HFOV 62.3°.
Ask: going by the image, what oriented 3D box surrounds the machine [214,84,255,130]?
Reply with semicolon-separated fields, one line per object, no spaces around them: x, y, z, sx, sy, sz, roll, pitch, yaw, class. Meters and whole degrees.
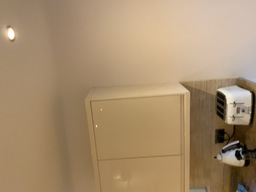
0.880;0.080;1.750;0.290;0.210;0.290;-91;-2;-74;machine
